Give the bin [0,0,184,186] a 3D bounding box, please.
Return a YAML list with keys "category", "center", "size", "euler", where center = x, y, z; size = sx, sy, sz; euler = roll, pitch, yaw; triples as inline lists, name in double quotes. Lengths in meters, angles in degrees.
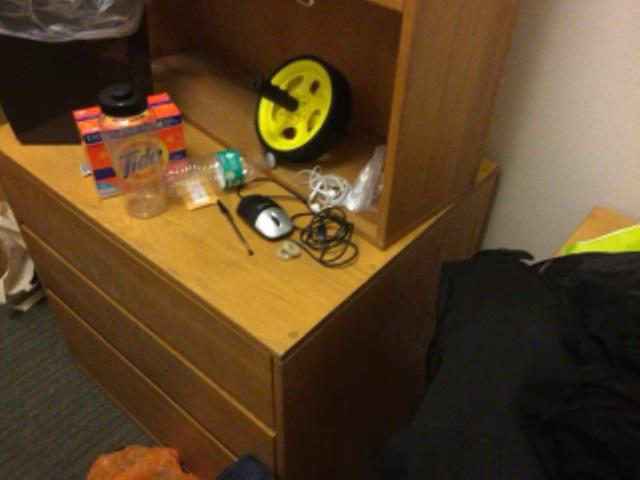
- category: "bin"
  center: [-0.500, -0.360, 1.100]
  size: [0.290, 0.330, 0.320]
  euler: [29, 46, 30]
